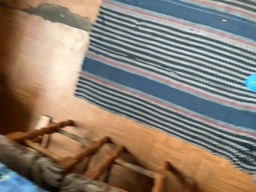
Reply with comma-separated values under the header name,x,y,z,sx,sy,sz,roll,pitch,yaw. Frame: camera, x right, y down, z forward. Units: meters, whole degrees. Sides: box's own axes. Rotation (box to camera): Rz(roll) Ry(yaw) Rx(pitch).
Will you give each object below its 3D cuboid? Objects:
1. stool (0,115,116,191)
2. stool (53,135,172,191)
name,x,y,z,sx,sy,sz,roll,pitch,yaw
stool,-0.300,0.300,0.890,0.290,0.470,0.280,19,100,15
stool,-0.040,0.390,0.810,0.290,0.470,0.280,19,100,15
